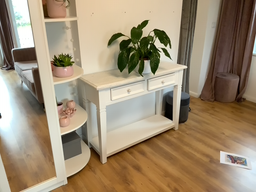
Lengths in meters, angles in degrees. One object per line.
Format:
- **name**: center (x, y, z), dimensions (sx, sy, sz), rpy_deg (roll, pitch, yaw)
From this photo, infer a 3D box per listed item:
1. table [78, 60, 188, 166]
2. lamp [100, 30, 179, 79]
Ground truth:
- **table**: center (0.100, 0.120, 2.530), dimensions (1.230, 0.880, 0.400), rpy_deg (-16, 28, -33)
- **lamp**: center (0.130, -0.480, 2.290), dimensions (0.740, 0.360, 0.420), rpy_deg (-17, 28, -35)
